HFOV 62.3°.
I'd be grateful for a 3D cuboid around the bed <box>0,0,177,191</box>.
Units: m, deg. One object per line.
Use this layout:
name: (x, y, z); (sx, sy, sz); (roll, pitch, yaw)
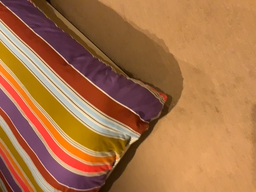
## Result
bed: (-0.890, 0.330, 1.980); (1.600, 0.710, 2.250); (41, 124, 22)
